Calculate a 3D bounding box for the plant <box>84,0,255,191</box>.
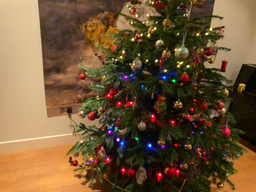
[{"bbox_3d":[0.380,0.010,2.030,1.280,2.000,1.610,-4,21,-22],"label":"plant"}]
